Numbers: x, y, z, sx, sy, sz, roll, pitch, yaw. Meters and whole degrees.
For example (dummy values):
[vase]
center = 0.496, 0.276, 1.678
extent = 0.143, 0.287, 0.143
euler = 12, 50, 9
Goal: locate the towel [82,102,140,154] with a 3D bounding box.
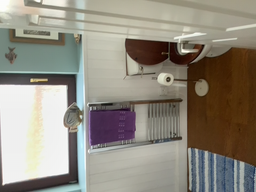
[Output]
[towel]
center = -0.150, 0.280, 1.950
extent = 0.150, 0.450, 0.320
euler = 4, 109, 61

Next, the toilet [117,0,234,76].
[toilet]
center = 0.400, -0.450, 1.920
extent = 0.640, 0.800, 0.510
euler = -174, 83, -65
